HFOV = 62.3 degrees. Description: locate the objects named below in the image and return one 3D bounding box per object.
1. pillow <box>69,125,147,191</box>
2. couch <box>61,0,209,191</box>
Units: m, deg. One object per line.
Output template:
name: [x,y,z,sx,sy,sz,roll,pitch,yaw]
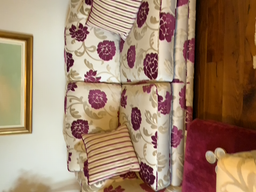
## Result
pillow: [-0.150,0.490,1.680,0.470,0.390,0.200,46,111,21]
couch: [-0.010,-0.140,1.910,1.020,0.900,2.030,2,92,59]
